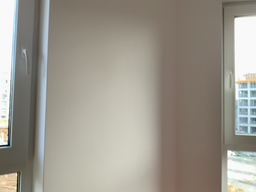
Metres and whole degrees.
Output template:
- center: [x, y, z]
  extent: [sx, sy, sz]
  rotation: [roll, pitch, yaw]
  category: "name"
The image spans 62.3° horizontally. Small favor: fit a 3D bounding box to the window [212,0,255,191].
- center: [1.140, 0.310, 1.420]
  extent: [1.070, 2.320, 0.060]
  rotation: [1, -3, 11]
  category: "window"
